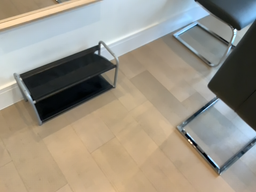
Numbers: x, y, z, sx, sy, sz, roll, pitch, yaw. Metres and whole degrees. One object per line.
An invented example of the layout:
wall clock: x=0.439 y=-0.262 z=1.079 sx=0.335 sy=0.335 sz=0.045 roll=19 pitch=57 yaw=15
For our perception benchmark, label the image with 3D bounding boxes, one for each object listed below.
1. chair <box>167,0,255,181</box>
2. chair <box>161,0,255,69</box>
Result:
chair: x=0.700 y=-0.050 z=1.120 sx=0.570 sy=1.030 sz=0.450 roll=-32 pitch=65 yaw=-27
chair: x=0.750 y=-0.830 z=1.690 sx=0.450 sy=1.030 sz=0.560 roll=-33 pitch=66 yaw=-28
